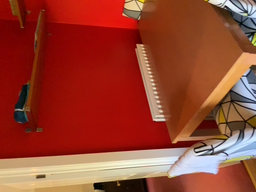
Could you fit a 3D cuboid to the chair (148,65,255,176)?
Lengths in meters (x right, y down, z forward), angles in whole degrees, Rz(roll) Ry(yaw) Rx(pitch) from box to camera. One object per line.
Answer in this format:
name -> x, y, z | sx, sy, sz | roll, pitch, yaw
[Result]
chair -> 0.680, 0.150, 1.380 | 0.420, 0.930, 0.520 | 109, 156, -53
